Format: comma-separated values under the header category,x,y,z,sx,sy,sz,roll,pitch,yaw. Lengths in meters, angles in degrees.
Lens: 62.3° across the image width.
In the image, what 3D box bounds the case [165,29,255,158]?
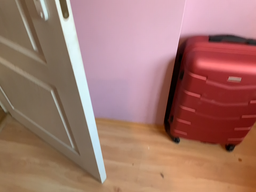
category,x,y,z,sx,sy,sz,roll,pitch,yaw
case,0.450,0.020,1.160,0.400,0.650,0.290,7,46,7
